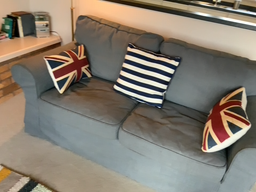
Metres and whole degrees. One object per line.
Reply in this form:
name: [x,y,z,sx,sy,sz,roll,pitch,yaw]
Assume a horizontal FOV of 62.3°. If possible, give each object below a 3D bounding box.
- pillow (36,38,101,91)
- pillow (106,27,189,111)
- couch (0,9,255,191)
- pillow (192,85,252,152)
pillow: [-0.450,-0.250,1.650,0.170,0.310,0.370,54,36,-7]
pillow: [0.130,-0.190,1.560,0.450,0.400,0.150,39,36,5]
couch: [0.100,-0.010,1.640,1.780,0.840,0.920,19,33,17]
pillow: [0.570,0.130,1.290,0.150,0.280,0.310,42,36,3]
